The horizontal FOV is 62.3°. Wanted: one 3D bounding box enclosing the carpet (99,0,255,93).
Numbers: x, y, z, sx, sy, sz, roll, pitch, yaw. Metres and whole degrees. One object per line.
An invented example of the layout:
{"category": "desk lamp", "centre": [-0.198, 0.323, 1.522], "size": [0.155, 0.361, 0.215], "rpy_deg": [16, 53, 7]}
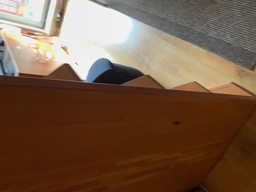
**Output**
{"category": "carpet", "centre": [0.350, -0.860, 1.600], "size": [1.750, 0.060, 0.920], "rpy_deg": [42, 119, 41]}
